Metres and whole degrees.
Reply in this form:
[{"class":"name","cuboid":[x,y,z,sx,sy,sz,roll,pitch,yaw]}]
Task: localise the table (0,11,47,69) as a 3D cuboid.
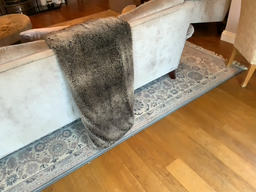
[{"class":"table","cuboid":[-1.820,-0.850,3.030,0.720,0.350,1.060,8,41,14]}]
